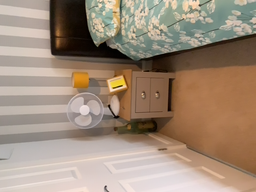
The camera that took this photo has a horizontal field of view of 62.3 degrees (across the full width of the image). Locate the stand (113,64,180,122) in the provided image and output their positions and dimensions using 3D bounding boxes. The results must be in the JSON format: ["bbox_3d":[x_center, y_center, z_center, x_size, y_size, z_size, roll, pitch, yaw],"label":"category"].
[{"bbox_3d":[0.160,-0.040,2.110,0.480,0.490,0.490,-171,81,-66],"label":"stand"}]
